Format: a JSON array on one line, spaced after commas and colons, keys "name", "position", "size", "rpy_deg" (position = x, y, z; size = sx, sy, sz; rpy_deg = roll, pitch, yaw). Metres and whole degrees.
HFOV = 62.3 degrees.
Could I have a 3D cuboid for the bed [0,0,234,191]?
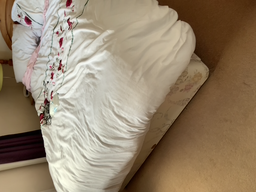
[{"name": "bed", "position": [-0.590, -0.250, 2.000], "size": [2.210, 0.950, 1.610], "rpy_deg": [57, 134, 37]}]
